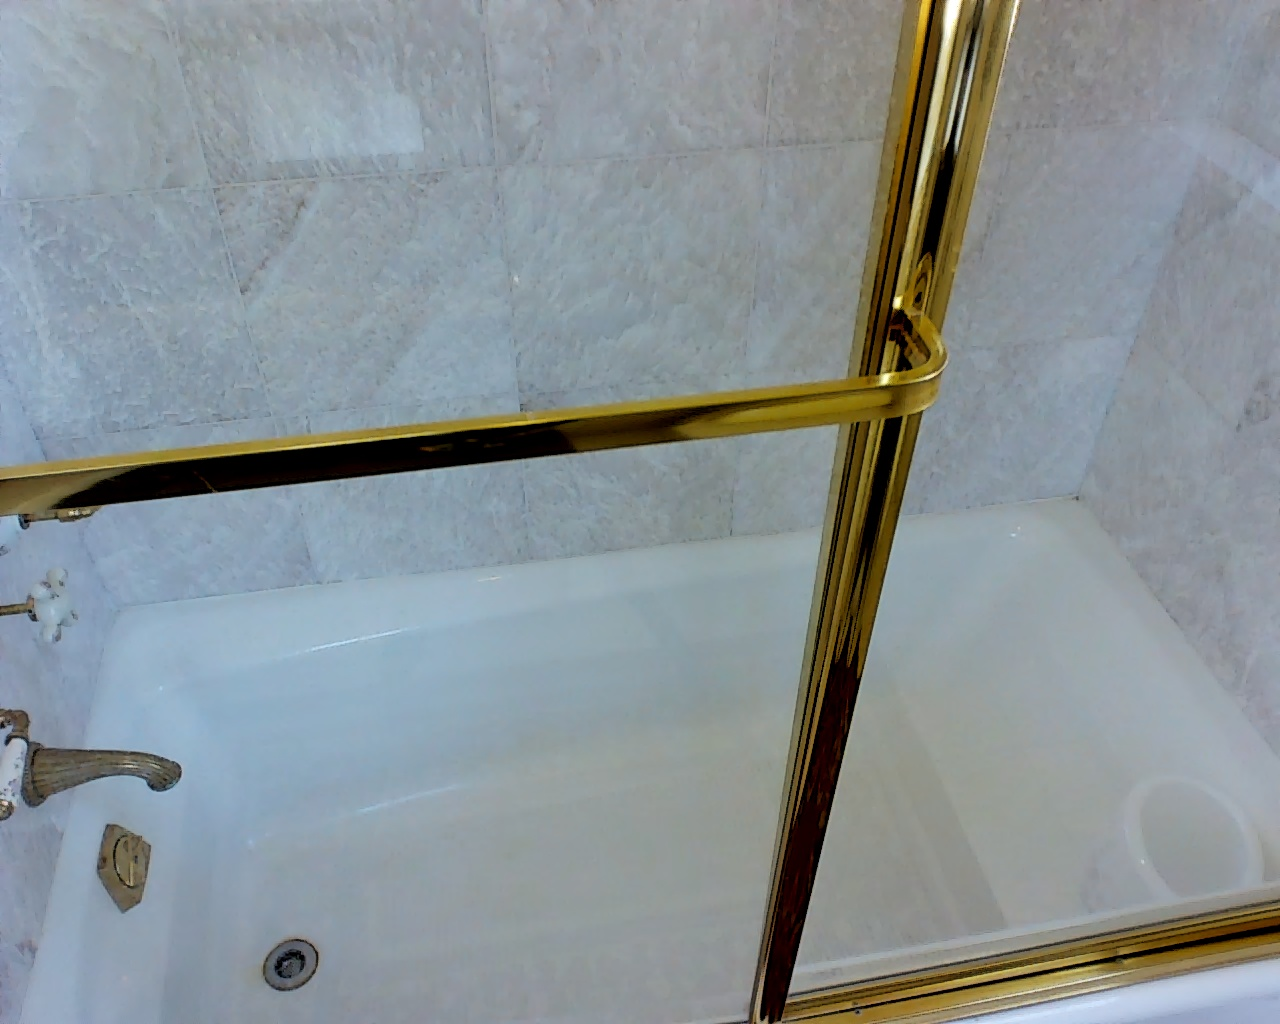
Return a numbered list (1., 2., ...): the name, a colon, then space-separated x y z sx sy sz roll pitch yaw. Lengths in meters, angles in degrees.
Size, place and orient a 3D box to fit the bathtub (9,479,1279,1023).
1. bathtub: 0.050 0.430 1.420 1.440 0.380 0.770 -7 42 -8
